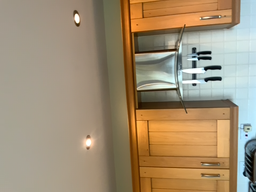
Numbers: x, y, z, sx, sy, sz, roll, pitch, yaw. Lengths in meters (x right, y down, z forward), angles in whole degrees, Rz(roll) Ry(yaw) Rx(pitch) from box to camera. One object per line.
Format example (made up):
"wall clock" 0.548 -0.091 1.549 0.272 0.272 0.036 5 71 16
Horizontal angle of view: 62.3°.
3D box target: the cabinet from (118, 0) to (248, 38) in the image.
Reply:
"cabinet" 0.390 -0.660 1.630 0.290 0.880 0.320 -48 -45 -75
